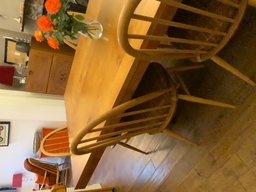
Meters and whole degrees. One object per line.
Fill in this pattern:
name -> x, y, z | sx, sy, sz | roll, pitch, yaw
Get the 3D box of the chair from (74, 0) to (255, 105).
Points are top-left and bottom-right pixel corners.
chair -> 0.310, -0.360, 0.970 | 0.510, 0.930, 0.550 | -64, 34, 34

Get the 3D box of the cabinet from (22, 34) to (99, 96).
cabinet -> -1.190, -0.500, 3.710 | 0.780, 1.110, 0.490 | -63, 35, 35

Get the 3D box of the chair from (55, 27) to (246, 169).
chair -> 0.090, 0.040, 1.310 | 0.490, 0.930, 0.550 | -60, 37, 38
